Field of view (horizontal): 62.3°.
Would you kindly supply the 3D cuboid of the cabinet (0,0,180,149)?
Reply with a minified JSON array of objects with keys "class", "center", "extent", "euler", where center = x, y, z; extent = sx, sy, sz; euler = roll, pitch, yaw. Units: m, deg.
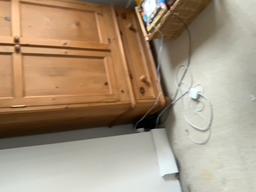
[{"class":"cabinet","center":[-0.710,-0.240,1.700],"extent":[0.640,1.980,1.130],"euler":[-43,54,57]}]
